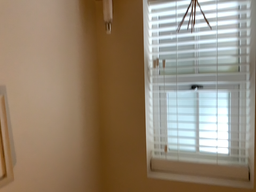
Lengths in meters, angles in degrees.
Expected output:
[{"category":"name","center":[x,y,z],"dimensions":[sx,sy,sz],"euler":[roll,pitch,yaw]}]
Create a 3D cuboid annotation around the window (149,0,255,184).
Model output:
[{"category":"window","center":[0.410,-0.150,1.230],"dimensions":[0.540,1.210,0.160],"euler":[0,-175,20]}]
